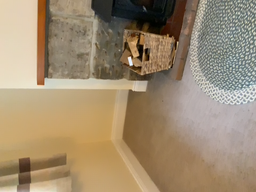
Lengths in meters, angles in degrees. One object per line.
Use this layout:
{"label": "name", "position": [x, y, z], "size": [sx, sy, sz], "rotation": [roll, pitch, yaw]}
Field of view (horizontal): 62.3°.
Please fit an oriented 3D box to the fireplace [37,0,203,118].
{"label": "fireplace", "position": [-0.040, -0.770, 1.340], "size": [0.510, 0.940, 1.710], "rotation": [-141, 55, -58]}
